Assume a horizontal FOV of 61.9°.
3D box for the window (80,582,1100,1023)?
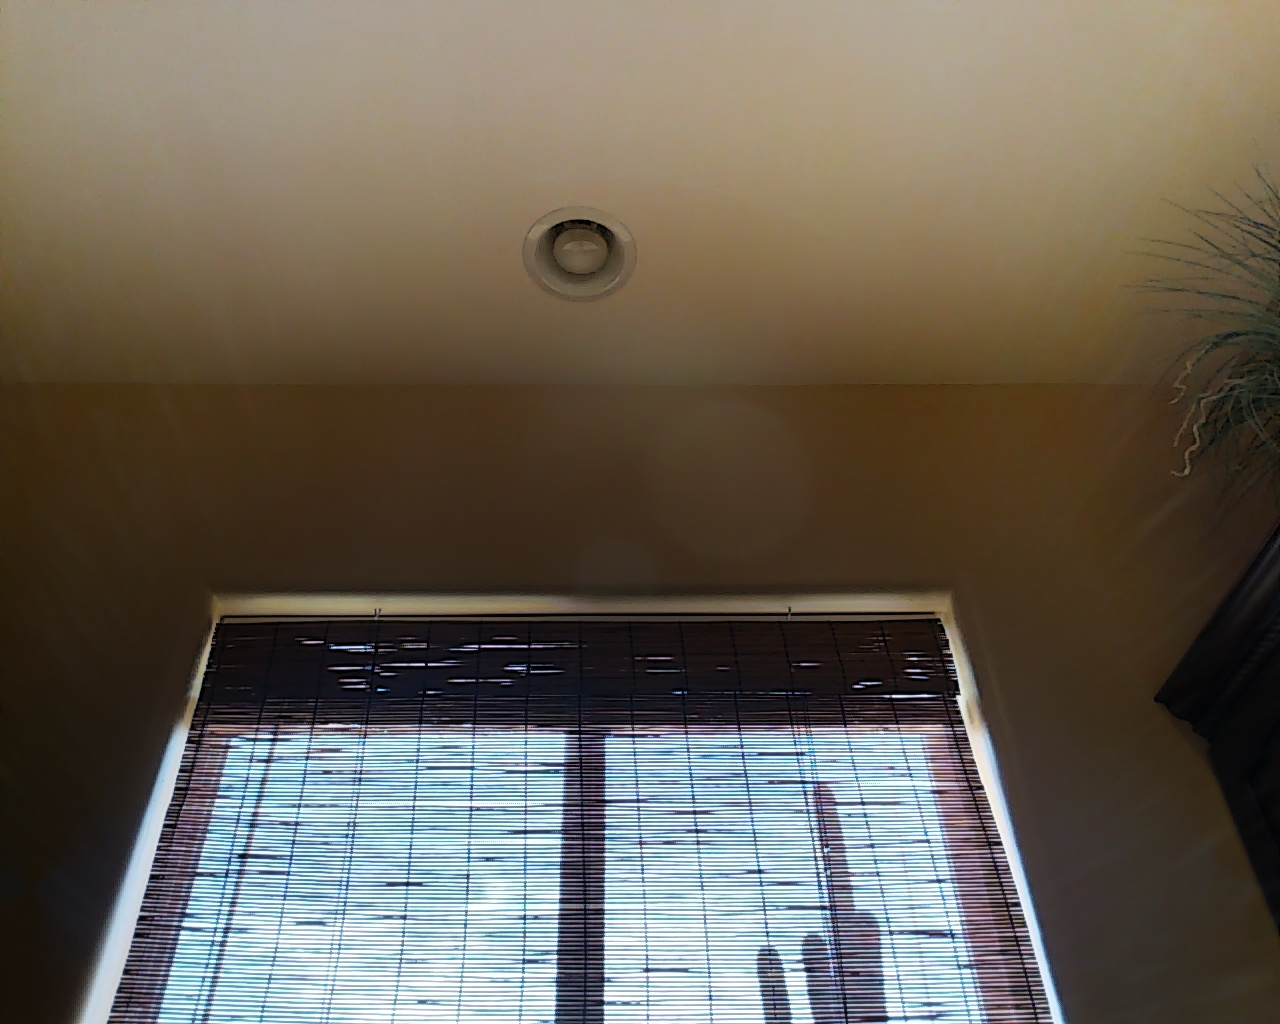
[{"bbox_3d":[-0.050,0.700,1.240,1.210,1.470,0.080,1,-41,-2],"label":"window"}]
